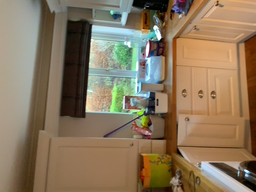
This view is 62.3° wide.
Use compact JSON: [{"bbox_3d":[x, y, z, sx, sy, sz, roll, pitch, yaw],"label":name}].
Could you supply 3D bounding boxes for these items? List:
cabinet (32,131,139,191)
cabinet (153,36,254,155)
[{"bbox_3d":[-0.430,0.770,2.300,0.420,1.010,0.740,134,139,-77],"label":"cabinet"},{"bbox_3d":[0.830,0.030,2.520,0.610,0.910,1.210,134,139,-77],"label":"cabinet"}]
